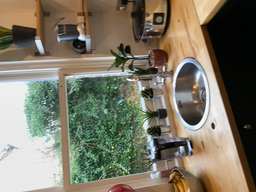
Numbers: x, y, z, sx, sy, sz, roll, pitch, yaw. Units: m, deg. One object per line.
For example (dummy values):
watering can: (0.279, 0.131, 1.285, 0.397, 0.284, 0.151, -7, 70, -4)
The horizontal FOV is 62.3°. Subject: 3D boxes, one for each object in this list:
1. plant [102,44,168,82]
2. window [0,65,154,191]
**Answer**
plant: (0.040, -0.250, 1.630, 0.230, 0.440, 0.190, 122, 141, -69)
window: (-0.500, 0.190, 1.640, 0.100, 1.280, 0.860, 117, 146, -66)
